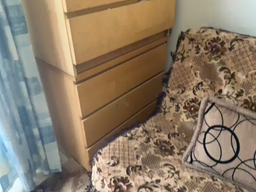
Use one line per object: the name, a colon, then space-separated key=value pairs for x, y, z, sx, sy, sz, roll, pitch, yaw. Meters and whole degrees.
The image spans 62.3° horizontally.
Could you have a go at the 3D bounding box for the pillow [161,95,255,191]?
pillow: x=0.500 y=0.260 z=0.940 sx=0.600 sy=0.340 sz=0.180 roll=23 pitch=13 yaw=29
